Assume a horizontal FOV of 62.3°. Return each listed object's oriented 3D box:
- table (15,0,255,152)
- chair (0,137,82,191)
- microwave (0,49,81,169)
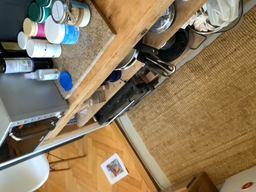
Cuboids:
[{"bbox_3d":[0.090,-0.330,1.160,1.620,0.800,0.350,-44,72,35],"label":"table"},{"bbox_3d":[-1.000,0.770,2.180,0.510,0.810,0.360,-26,83,38],"label":"chair"},{"bbox_3d":[-0.550,0.080,1.040,0.530,0.290,0.340,-42,73,35],"label":"microwave"}]
